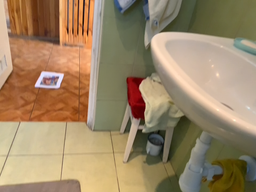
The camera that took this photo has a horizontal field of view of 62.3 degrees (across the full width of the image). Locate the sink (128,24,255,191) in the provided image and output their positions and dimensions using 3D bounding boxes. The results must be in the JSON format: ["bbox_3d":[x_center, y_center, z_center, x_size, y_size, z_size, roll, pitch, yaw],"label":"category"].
[{"bbox_3d":[0.260,-0.010,0.550,0.410,0.160,0.520,3,33,-14],"label":"sink"}]

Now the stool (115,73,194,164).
[{"bbox_3d":[0.120,0.140,1.280,0.310,0.440,0.300,3,33,-14],"label":"stool"}]
